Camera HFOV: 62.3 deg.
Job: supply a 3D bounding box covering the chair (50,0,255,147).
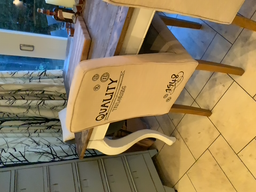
[{"bbox_3d":[0.100,-0.170,1.260,0.700,0.970,0.460,64,142,41],"label":"chair"}]
